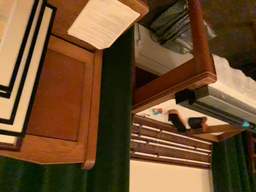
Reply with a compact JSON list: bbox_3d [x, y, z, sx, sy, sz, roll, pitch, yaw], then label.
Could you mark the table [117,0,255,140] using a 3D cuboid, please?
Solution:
[{"bbox_3d":[0.480,-0.200,1.420,0.890,0.780,0.600,18,152,-35],"label":"table"}]
